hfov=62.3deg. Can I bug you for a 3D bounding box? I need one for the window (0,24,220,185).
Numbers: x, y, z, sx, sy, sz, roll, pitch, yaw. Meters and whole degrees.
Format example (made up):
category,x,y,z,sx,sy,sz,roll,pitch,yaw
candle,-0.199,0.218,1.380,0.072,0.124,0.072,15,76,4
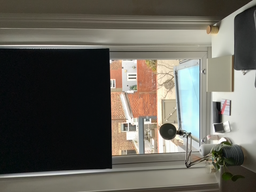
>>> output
category,x,y,z,sx,sy,sz,roll,pitch,yaw
window,-0.270,0.060,1.740,0.120,2.080,1.220,-155,64,-83
